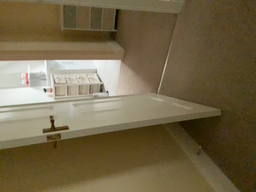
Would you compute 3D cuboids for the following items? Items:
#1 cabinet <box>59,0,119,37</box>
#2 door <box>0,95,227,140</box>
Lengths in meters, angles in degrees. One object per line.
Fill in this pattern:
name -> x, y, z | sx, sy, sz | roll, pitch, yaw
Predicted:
cabinet -> -0.520, -1.030, 2.790 | 0.360, 0.700, 0.400 | -133, 43, -55
door -> -0.470, 0.110, 1.190 | 0.710, 1.990, 0.030 | -169, 75, -66
